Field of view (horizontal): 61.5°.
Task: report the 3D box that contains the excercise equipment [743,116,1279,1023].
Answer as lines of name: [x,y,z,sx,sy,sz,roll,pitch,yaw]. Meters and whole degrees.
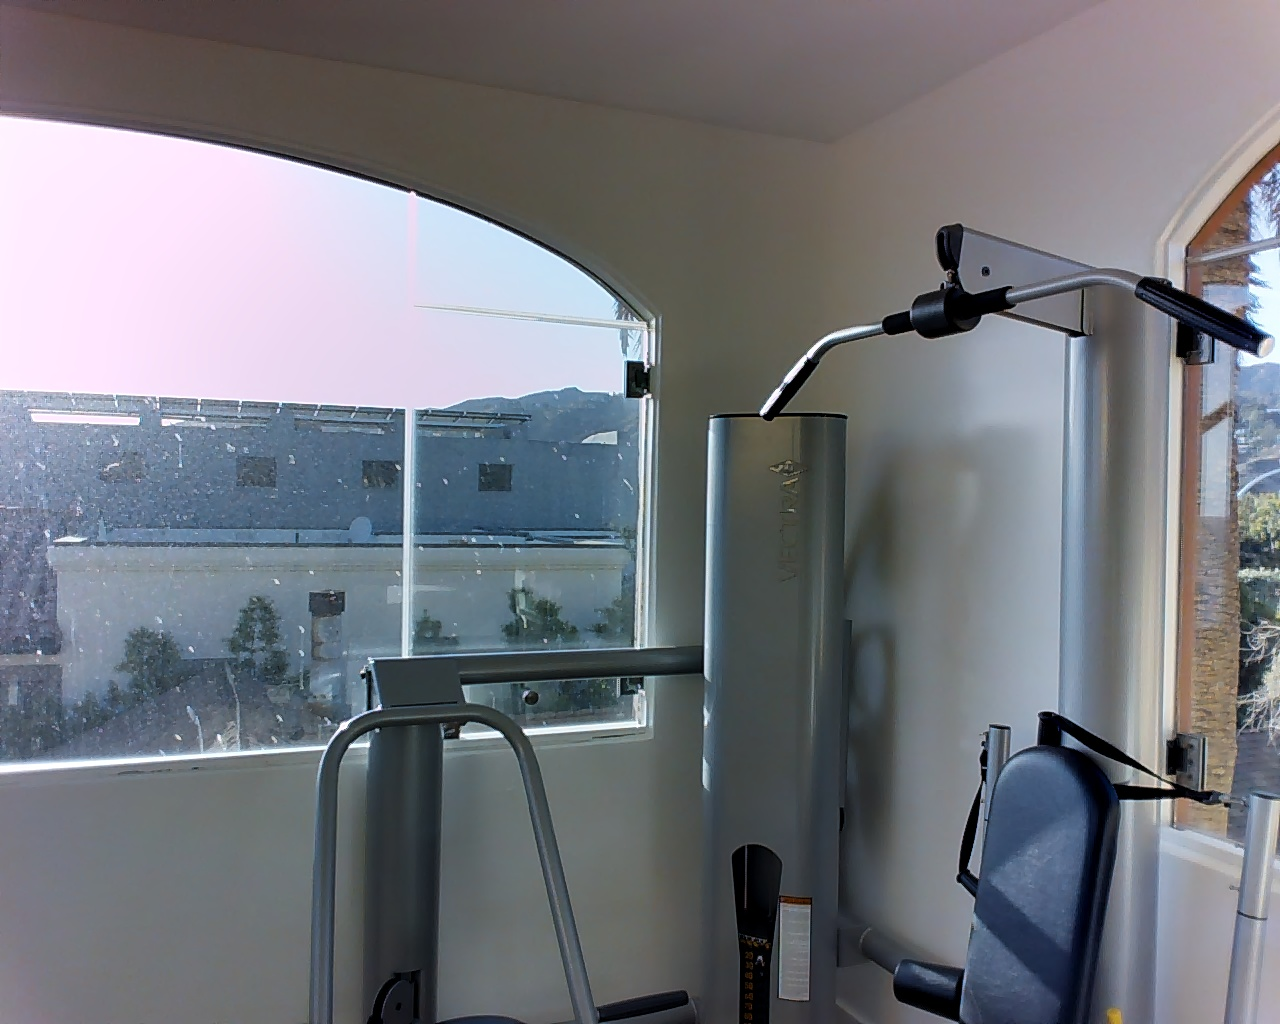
excercise equipment: [0.660,0.500,1.880,0.750,2.071,0.590,1,0,-22]

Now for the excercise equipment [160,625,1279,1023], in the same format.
excercise equipment: [-0.050,0.930,1.810,1.349,1.221,2.090,1,0,-22]

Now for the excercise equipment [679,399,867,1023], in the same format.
excercise equipment: [0.350,0.620,2.760,0.410,1.781,0.350,1,0,14]
